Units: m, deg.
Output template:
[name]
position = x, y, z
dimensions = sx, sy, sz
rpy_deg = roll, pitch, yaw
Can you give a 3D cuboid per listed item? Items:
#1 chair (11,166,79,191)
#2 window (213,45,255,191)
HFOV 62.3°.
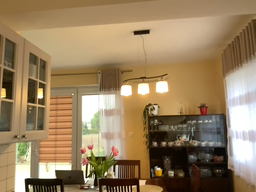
[chair]
position = -0.960, 1.410, 2.520
dimensions = 0.580, 1.010, 0.540
rpy_deg = -2, -7, 6
[window]
position = 1.430, 0.310, 2.340
dimensions = 0.210, 1.580, 2.030
rpy_deg = -2, -7, 4
